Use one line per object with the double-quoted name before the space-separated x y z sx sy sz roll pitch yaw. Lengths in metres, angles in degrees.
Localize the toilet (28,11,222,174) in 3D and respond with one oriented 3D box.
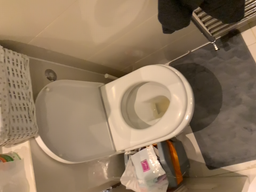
"toilet" 0.060 0.040 1.020 0.490 0.800 0.370 -25 73 29
